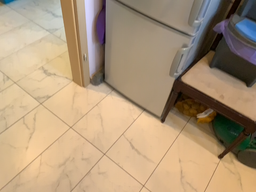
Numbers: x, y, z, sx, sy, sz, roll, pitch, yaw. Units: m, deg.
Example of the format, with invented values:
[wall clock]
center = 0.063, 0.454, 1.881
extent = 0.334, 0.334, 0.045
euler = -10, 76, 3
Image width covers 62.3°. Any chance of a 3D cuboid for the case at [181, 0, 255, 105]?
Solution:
[case]
center = 0.700, -0.360, 1.190
extent = 0.420, 0.310, 0.700
euler = 37, 56, 20
